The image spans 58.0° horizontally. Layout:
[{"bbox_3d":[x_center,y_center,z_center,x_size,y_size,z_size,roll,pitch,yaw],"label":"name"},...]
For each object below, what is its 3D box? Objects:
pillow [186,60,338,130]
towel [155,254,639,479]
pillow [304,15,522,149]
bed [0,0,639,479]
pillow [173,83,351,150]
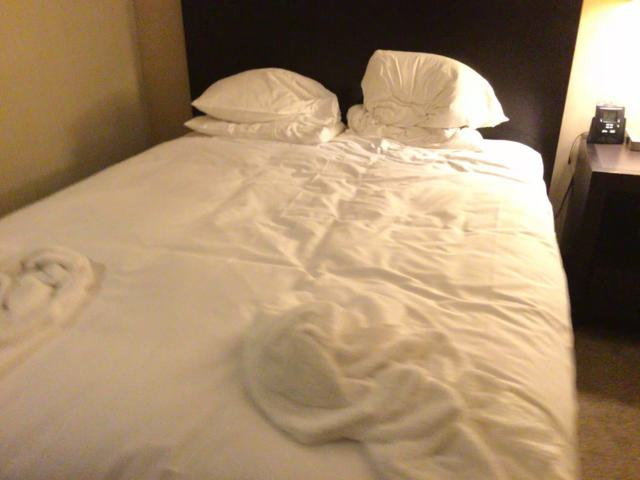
[{"bbox_3d":[-0.220,-0.610,2.380,0.490,0.210,0.410,6,23,17],"label":"pillow"},{"bbox_3d":[0.140,0.290,0.940,0.590,0.310,0.480,6,23,17],"label":"towel"},{"bbox_3d":[0.360,-0.640,2.280,0.780,0.450,0.300,6,23,17],"label":"pillow"},{"bbox_3d":[-0.070,-0.080,1.700,1.650,1.390,2.160,6,23,17],"label":"bed"},{"bbox_3d":[-0.220,-0.530,2.410,0.600,0.170,0.450,6,23,17],"label":"pillow"}]
